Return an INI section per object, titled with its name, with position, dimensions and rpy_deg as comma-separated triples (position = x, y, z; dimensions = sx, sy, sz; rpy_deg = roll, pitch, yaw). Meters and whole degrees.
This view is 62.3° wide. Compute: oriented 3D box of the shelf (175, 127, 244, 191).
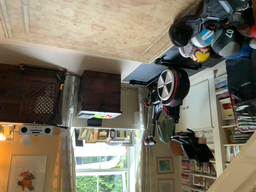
[shelf]
position = 1.270, 1.330, 3.540
dimensions = 0.240, 1.500, 1.350
rpy_deg = 5, 166, -18
